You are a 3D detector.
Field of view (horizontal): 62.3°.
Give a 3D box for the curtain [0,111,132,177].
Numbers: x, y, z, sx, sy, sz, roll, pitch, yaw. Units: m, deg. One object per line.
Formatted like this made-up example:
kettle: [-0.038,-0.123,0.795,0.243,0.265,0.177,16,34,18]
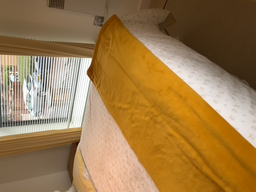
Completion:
curtain: [-1.150,0.530,2.170,0.250,2.460,0.580,59,138,39]
